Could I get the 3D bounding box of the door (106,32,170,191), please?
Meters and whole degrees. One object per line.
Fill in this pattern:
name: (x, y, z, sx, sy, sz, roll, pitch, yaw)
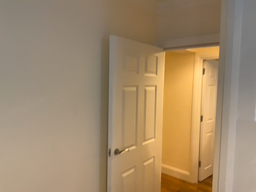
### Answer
door: (0.140, 0.460, 2.160, 0.060, 1.990, 0.970, 5, 5, 38)
